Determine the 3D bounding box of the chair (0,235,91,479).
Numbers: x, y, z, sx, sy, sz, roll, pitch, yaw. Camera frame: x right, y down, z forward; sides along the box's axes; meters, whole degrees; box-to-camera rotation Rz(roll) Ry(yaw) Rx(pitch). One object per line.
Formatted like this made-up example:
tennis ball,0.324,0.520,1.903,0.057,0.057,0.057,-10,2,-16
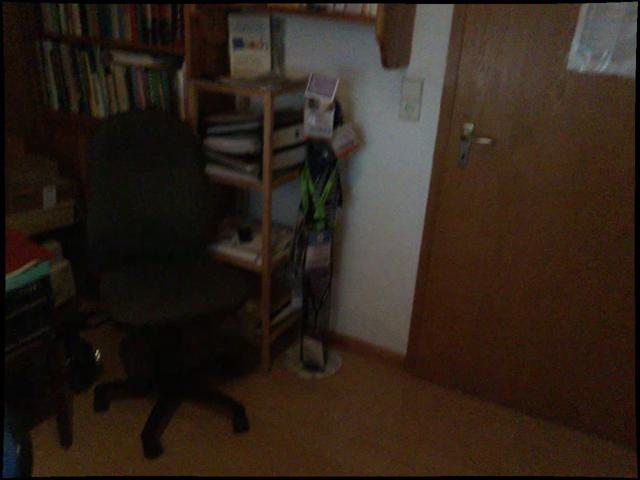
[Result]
chair,-1.099,0.410,1.730,0.520,0.701,0.530,18,27,19

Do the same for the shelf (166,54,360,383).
shelf,-0.260,-0.090,2.330,0.550,1.151,0.410,18,27,19

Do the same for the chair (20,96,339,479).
chair,-0.490,0.140,2.000,0.730,1.051,0.640,26,31,32

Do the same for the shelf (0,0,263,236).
shelf,-0.759,-1.061,2.230,1.019,1.851,0.410,18,27,19
